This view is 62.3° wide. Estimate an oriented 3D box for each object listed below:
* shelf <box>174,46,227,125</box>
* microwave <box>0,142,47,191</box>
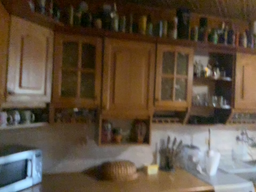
[{"bbox_3d":[0.850,-0.110,2.510,0.500,0.860,0.270,2,-1,-17],"label":"shelf"},{"bbox_3d":[-0.960,0.590,1.790,0.480,0.270,0.550,2,-1,-18],"label":"microwave"}]
